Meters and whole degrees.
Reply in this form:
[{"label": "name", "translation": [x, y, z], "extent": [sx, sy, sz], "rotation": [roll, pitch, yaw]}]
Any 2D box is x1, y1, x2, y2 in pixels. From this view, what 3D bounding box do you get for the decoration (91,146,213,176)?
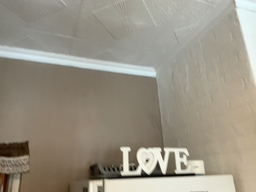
[{"label": "decoration", "translation": [0.100, 0.370, 1.190], "extent": [0.540, 0.120, 0.430], "rotation": [4, -20, -19]}]
